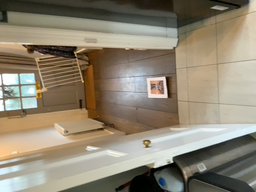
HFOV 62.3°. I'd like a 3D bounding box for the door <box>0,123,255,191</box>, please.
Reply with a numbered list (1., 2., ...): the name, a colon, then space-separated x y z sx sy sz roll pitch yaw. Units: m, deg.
1. door: -0.180 0.320 1.190 0.910 2.010 0.030 -12 85 59
